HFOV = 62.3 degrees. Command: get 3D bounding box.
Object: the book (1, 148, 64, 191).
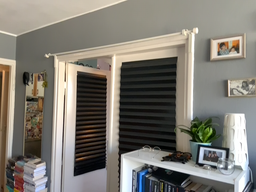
[{"bbox_3d":[-1.150,1.110,2.510,0.720,0.820,0.380,1,-2,38],"label":"book"}]
